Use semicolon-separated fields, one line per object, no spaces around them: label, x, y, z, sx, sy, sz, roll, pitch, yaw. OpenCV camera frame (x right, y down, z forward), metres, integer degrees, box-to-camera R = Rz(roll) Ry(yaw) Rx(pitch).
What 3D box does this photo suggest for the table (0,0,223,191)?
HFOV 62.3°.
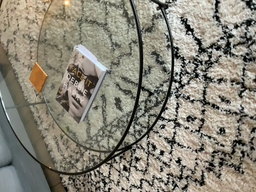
table;-0.300;-0.160;1.080;1.020;0.320;1.010;-36;76;32
